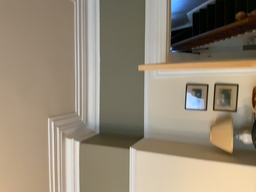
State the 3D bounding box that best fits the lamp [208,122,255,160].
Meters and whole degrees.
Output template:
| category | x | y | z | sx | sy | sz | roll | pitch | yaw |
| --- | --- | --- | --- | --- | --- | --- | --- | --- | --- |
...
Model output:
| category | x | y | z | sx | sy | sz | roll | pitch | yaw |
| --- | --- | --- | --- | --- | --- | --- | --- | --- | --- |
| lamp | 0.850 | 0.350 | 1.700 | 0.230 | 0.380 | 0.220 | -12 | -78 | -67 |
